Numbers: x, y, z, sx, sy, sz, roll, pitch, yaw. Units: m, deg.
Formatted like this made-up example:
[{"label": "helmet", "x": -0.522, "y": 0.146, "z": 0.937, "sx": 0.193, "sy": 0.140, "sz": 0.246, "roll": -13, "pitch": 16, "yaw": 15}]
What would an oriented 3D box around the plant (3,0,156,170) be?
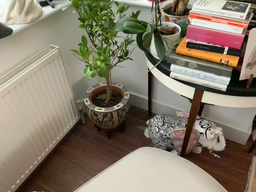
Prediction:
[{"label": "plant", "x": -0.180, "y": -0.380, "z": 1.080, "sx": 0.450, "sy": 1.700, "sz": 0.560, "roll": 19, "pitch": 47, "yaw": 22}]
